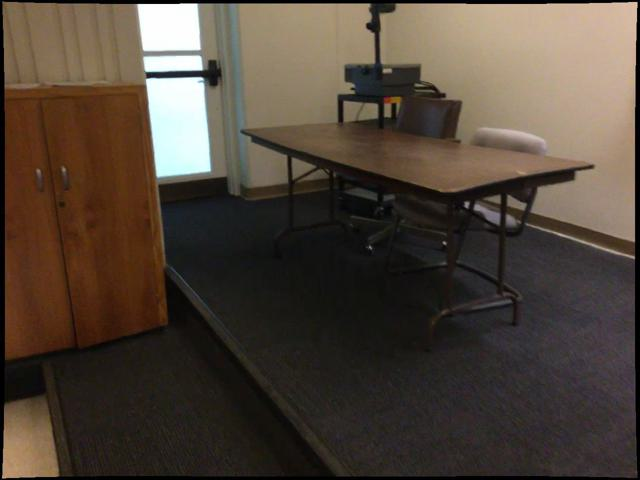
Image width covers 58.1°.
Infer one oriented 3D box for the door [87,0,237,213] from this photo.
[{"bbox_3d":[-1.157,-1.323,4.320,0.998,2.155,0.200,-10,22,-29],"label":"door"}]
